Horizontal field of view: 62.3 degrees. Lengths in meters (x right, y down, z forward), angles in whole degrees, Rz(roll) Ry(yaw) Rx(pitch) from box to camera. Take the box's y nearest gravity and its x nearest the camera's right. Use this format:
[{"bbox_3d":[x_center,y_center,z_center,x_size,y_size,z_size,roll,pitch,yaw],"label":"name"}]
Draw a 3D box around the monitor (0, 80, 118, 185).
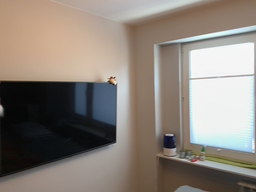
[{"bbox_3d":[-0.560,0.230,2.020,0.080,0.730,1.240,1,6,40],"label":"monitor"}]
